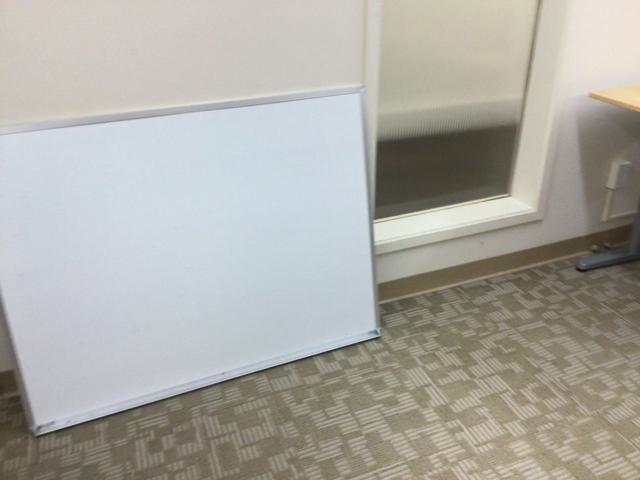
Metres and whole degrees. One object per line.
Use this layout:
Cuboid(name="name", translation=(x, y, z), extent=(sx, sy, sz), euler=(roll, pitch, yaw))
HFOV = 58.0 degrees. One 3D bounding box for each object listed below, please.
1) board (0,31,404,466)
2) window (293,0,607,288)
Cuboid(name="board", translation=(-0.390, 0.050, 1.810), extent=(1.190, 0.910, 0.210), euler=(-30, 35, -11))
Cuboid(name="window", translation=(0.440, -0.650, 1.960), extent=(0.870, 1.380, 0.270), euler=(-24, 22, -12))
